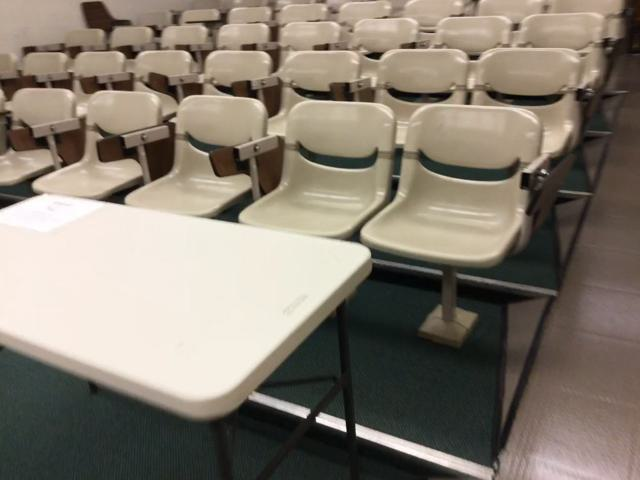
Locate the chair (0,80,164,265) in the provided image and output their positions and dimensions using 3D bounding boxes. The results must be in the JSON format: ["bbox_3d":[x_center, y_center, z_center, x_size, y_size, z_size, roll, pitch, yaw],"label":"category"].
[{"bbox_3d":[-1.430,-0.400,3.090,0.740,0.750,0.700,8,27,33],"label":"chair"}]

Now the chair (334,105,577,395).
[{"bbox_3d":[0.480,-0.020,1.970,0.590,0.760,0.550,8,27,33],"label":"chair"}]

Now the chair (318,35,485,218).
[{"bbox_3d":[0.430,-0.580,2.880,0.610,0.740,0.530,8,27,33],"label":"chair"}]

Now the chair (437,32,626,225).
[{"bbox_3d":[0.930,-0.510,2.550,0.630,0.670,0.540,8,27,33],"label":"chair"}]

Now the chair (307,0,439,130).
[{"bbox_3d":[0.370,-1.180,3.780,0.590,0.780,0.580,8,27,33],"label":"chair"}]

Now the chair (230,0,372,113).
[{"bbox_3d":[-0.110,-1.290,3.990,0.690,0.690,0.590,8,27,33],"label":"chair"}]

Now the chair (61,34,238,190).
[{"bbox_3d":[-1.070,-0.830,3.710,0.780,0.820,0.560,8,27,33],"label":"chair"}]

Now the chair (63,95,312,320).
[{"bbox_3d":[-0.550,-0.190,2.540,0.770,0.770,0.550,8,27,33],"label":"chair"}]

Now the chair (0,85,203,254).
[{"bbox_3d":[-1.040,-0.370,2.770,0.620,0.620,0.570,8,27,33],"label":"chair"}]

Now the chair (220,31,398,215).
[{"bbox_3d":[-0.030,-0.650,3.150,0.680,0.820,0.560,8,27,33],"label":"chair"}]

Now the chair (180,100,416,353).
[{"bbox_3d":[-0.050,-0.100,2.270,0.630,0.780,0.550,8,27,33],"label":"chair"}]

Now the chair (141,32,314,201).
[{"bbox_3d":[-0.520,-0.740,3.420,0.670,0.820,0.570,8,27,33],"label":"chair"}]
